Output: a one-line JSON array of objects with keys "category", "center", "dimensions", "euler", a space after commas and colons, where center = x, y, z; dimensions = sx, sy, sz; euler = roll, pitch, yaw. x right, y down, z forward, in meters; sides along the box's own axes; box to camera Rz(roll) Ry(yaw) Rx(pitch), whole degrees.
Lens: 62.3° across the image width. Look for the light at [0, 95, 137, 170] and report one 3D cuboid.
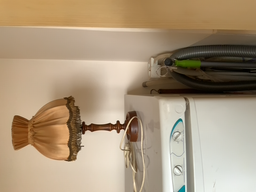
[{"category": "light", "center": [-0.190, 0.100, 0.760], "dimensions": [0.310, 0.390, 0.200], "euler": [-172, 82, -81]}]
